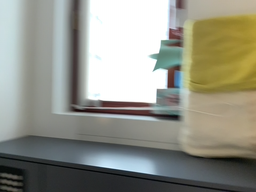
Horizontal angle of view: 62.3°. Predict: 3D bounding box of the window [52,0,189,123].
[{"bbox_3d":[-0.040,-0.570,1.420,0.280,0.860,1.410,-2,-86,-74],"label":"window"}]
